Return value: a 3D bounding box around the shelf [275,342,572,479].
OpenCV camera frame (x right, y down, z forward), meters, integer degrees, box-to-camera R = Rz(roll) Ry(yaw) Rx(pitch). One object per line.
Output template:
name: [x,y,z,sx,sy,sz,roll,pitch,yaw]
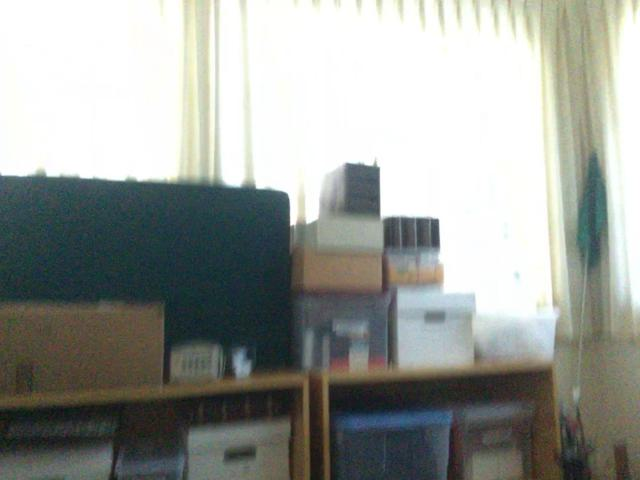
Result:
shelf: [0.360,1.070,2.070,0.890,1.300,0.550,0,-6,-19]
